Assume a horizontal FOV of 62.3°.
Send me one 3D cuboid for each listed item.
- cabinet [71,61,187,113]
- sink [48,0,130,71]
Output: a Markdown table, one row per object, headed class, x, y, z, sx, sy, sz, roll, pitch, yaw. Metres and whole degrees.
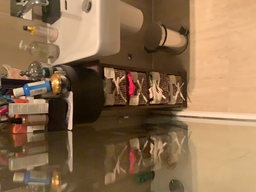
| class | x | y | z | sx | sy | sz | roll | pitch | yaw |
| --- | --- | --- | --- | --- | --- | --- | --- | --- | --- |
| cabinet | 0.040 | -0.040 | 1.320 | 0.310 | 0.700 | 0.240 | 0 | 90 | 48 |
| sink | -0.210 | -0.450 | 1.000 | 0.480 | 0.150 | 0.610 | -1 | 89 | 48 |
